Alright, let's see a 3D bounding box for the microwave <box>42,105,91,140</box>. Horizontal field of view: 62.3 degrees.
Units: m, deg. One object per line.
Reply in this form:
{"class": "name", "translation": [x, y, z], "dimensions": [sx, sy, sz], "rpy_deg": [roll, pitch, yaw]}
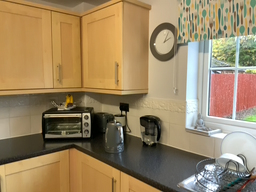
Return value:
{"class": "microwave", "translation": [-0.600, 0.250, 2.160], "dimensions": [0.410, 0.260, 0.420], "rpy_deg": [0, 5, -7]}

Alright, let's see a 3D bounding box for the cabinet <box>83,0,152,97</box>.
{"class": "cabinet", "translation": [-0.120, -0.430, 2.060], "dimensions": [0.330, 0.810, 0.620], "rpy_deg": [-5, 7, -43]}

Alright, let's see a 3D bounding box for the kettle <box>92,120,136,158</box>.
{"class": "kettle", "translation": [-0.120, 0.350, 1.800], "dimensions": [0.260, 0.220, 0.270], "rpy_deg": [-5, 7, -44]}

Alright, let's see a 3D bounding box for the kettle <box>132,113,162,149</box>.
{"class": "kettle", "translation": [0.170, 0.310, 1.940], "dimensions": [0.120, 0.260, 0.250], "rpy_deg": [-4, 7, -41]}
